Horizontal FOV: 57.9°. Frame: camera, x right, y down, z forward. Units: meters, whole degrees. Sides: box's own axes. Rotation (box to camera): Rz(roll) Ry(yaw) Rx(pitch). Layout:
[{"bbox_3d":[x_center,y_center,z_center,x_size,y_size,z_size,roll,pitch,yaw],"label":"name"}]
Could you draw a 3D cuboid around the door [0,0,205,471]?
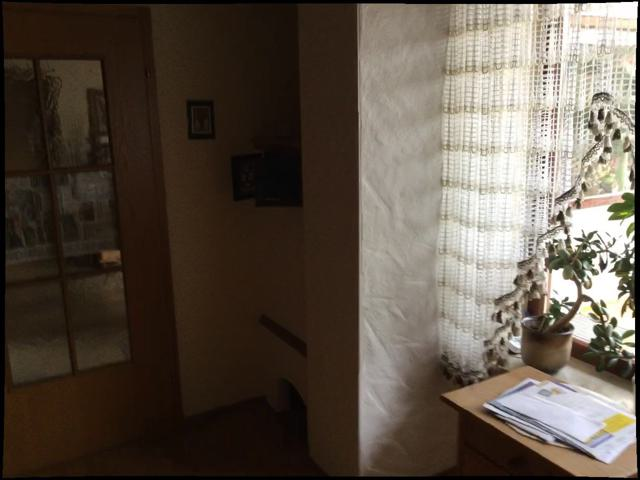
[{"bbox_3d":[-1.059,-0.030,2.530,0.969,1.962,0.140,-10,17,-30],"label":"door"}]
